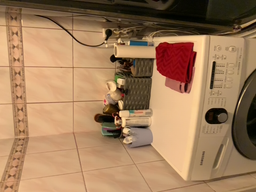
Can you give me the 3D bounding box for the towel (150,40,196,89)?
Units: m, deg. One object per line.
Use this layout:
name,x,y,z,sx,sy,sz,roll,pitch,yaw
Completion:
towel,0.180,-0.140,0.910,0.240,0.060,0.180,-147,58,-67
